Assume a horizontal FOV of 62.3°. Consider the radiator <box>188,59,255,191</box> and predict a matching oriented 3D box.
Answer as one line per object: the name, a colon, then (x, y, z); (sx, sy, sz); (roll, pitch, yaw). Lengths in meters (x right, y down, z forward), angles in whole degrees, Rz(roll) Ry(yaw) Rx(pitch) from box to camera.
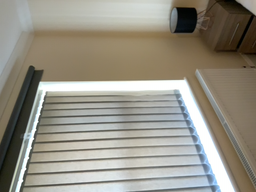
radiator: (1.040, 0.120, 1.650); (1.320, 0.750, 0.080); (-99, 11, -46)
